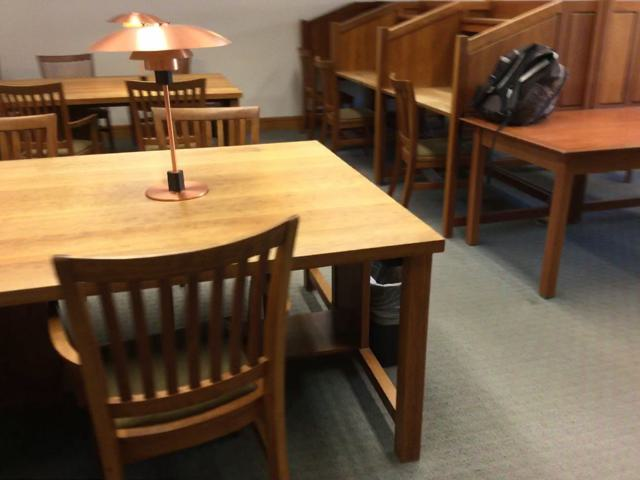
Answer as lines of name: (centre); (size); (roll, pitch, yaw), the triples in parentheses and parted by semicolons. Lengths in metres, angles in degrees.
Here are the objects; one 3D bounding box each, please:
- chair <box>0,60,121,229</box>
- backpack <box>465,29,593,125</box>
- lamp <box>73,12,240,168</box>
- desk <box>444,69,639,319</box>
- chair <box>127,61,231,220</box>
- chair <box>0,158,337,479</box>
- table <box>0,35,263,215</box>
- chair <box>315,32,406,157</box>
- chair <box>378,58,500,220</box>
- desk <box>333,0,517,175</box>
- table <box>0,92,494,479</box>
chair: (-1.770, -0.660, 3.850); (0.680, 0.920, 0.630); (-7, 26, -13)
backpack: (1.050, -0.850, 2.970); (0.420, 0.390, 0.410); (-7, 26, -13)
lamp: (-0.500, -0.490, 1.830); (0.420, 0.400, 0.340); (-7, 26, -13)
desk: (1.720, -0.350, 3.050); (1.750, 0.880, 1.140); (-5, 25, -7)
chair: (-0.960, -0.700, 3.970); (0.540, 0.910, 0.610); (-7, 26, -13)
chair: (-0.340, 0.350, 1.460); (0.620, 0.920, 0.590); (-7, 26, -13)
table: (-1.970, -0.960, 4.500); (2.780, 0.960, 1.460); (-7, 26, -13)
chair: (0.330, -1.280, 5.020); (0.600, 0.920, 0.610); (-7, 26, -13)
chair: (0.740, -0.680, 3.790); (0.520, 0.890, 0.580); (-7, 26, -13)
desk: (0.780, -1.490, 4.890); (0.980, 1.420, 1.390); (-7, 26, -13)
table: (-1.110, 0.200, 1.920); (2.780, 0.910, 1.490); (-7, 26, -13)
